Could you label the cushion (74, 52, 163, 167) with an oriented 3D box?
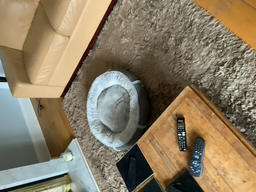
[{"bbox_3d":[-0.140,0.080,1.770,0.710,0.120,0.680,35,113,38],"label":"cushion"}]
